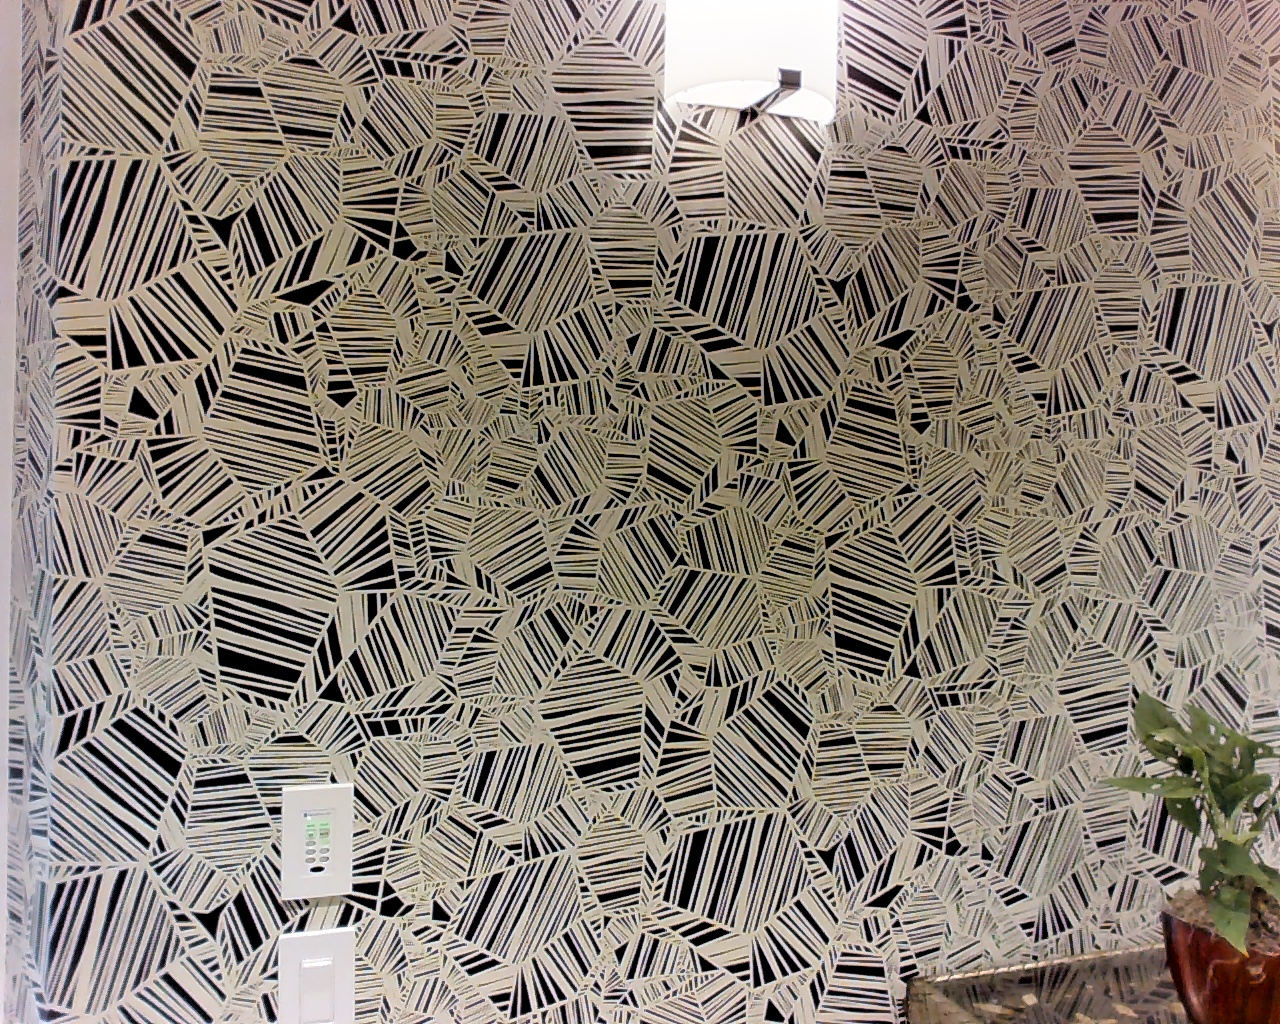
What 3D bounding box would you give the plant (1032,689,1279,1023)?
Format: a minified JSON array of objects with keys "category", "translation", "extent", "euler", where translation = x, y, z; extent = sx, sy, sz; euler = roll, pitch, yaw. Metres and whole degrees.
[{"category":"plant","translation":[0.680,0.400,1.200],"extent":[0.360,0.350,0.260],"euler":[1,1,-19]}]
